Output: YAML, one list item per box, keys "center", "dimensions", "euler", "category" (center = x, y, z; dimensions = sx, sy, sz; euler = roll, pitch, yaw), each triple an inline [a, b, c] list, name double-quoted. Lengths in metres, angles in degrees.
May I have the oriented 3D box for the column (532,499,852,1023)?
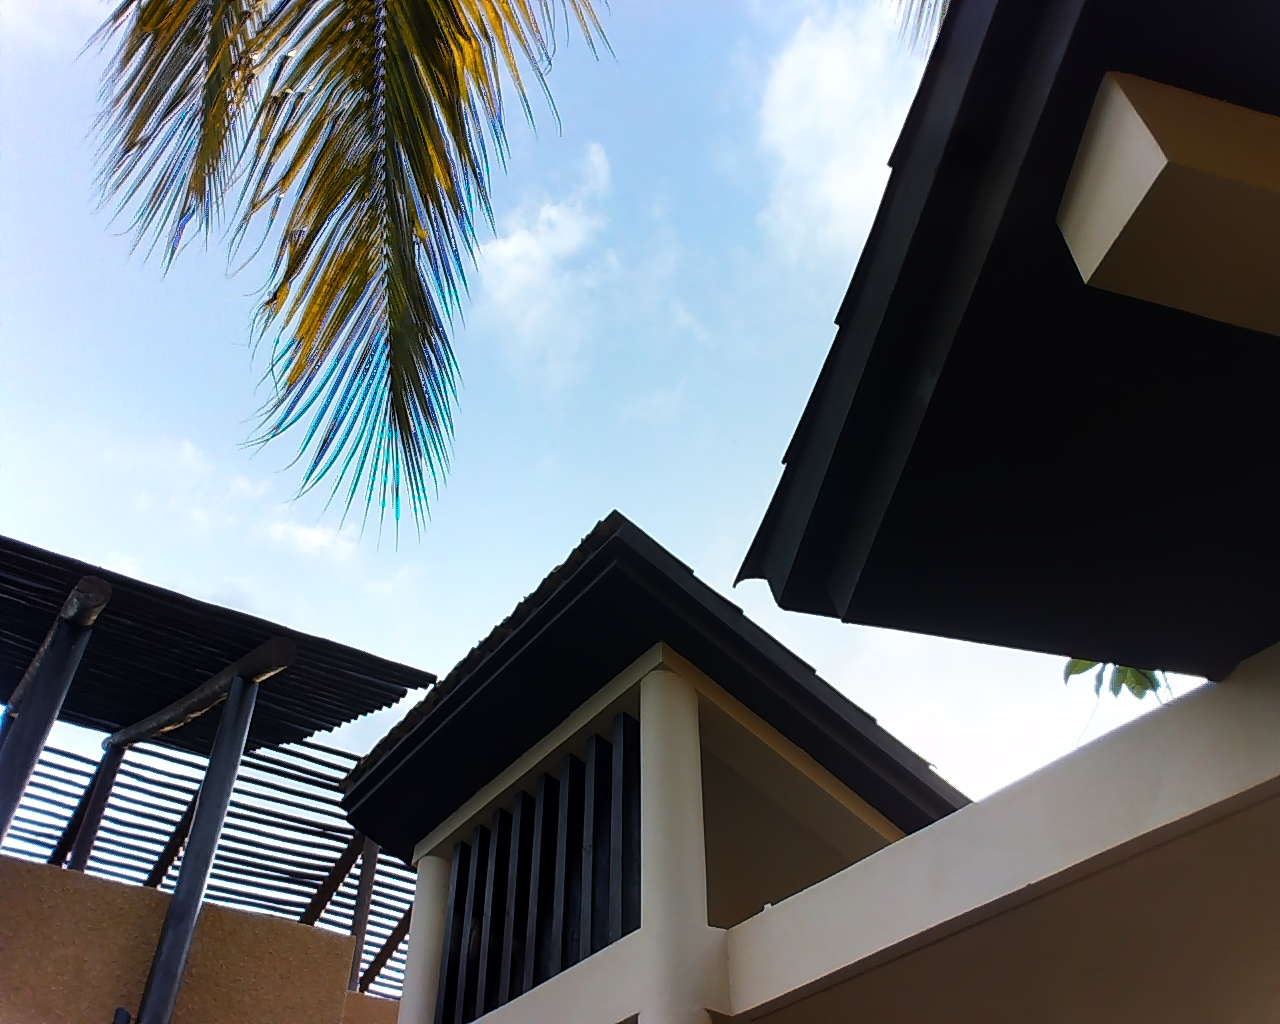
- center: [0.170, 1.631, 3.280]
  dimensions: [0.880, 3.711, 0.480]
  euler: [25, -48, -25]
  category: "column"

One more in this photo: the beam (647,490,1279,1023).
- center: [1.040, 0.740, 2.790]
  dimensions: [0.560, 0.440, 2.770]
  euler: [25, -47, -25]
  category: "beam"
